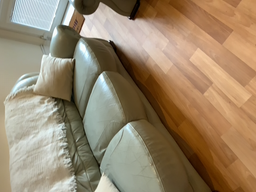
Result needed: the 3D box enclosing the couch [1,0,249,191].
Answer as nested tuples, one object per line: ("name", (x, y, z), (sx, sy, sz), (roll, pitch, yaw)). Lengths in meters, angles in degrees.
("couch", (-0.330, 0.320, 1.690), (1.160, 0.870, 2.040), (-58, 48, 31))
